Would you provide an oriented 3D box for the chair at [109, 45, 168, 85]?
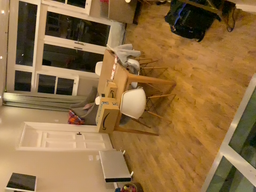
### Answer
[{"bbox_3d":[0.150,-0.480,3.320,0.360,0.770,0.400,-121,43,-58],"label":"chair"}]

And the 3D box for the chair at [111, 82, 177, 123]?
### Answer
[{"bbox_3d":[0.210,0.090,2.990,0.380,0.780,0.400,-138,58,-66],"label":"chair"}]
